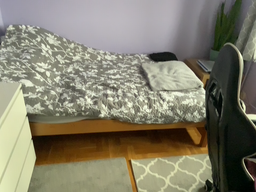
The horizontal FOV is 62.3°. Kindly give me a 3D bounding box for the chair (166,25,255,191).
[{"bbox_3d":[0.730,0.350,1.160,0.800,1.210,0.700,7,31,2],"label":"chair"}]

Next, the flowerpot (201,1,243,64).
[{"bbox_3d":[1.220,-0.830,2.770,0.250,0.720,0.320,22,34,26],"label":"flowerpot"}]
